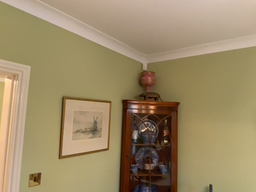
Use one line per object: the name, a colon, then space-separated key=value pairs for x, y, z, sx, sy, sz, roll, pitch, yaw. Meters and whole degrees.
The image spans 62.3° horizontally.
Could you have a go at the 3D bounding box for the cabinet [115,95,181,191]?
cabinet: x=0.210 y=0.960 z=2.200 sx=0.500 sy=1.880 sz=0.480 roll=-3 pitch=-8 yaw=37
